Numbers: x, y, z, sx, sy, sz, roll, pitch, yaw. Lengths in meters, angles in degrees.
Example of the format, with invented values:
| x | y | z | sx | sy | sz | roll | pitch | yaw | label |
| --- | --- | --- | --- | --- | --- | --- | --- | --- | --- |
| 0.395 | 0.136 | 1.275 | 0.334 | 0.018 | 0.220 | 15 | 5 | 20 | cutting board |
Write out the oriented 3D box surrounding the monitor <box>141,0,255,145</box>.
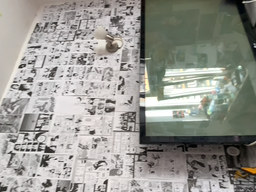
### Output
| x | y | z | sx | sy | sz | roll | pitch | yaw | label |
| --- | --- | --- | --- | --- | --- | --- | --- | --- | --- |
| 0.380 | -0.220 | 1.100 | 0.060 | 0.620 | 0.950 | 82 | -171 | -58 | monitor |
